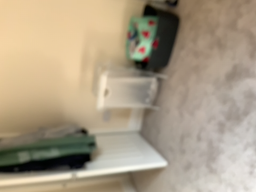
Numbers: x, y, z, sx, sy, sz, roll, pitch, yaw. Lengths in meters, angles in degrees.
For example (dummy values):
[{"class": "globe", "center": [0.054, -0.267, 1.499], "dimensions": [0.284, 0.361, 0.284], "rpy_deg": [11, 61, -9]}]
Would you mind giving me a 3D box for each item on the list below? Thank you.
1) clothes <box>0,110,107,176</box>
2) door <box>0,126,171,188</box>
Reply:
[{"class": "clothes", "center": [-0.880, 0.400, 2.050], "dimensions": [0.700, 1.190, 0.270], "rpy_deg": [-140, 53, -63]}, {"class": "door", "center": [-0.660, 0.560, 2.160], "dimensions": [0.770, 2.060, 0.100], "rpy_deg": [-144, 56, -64]}]
